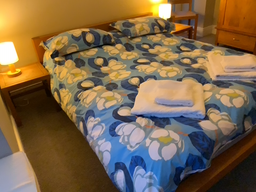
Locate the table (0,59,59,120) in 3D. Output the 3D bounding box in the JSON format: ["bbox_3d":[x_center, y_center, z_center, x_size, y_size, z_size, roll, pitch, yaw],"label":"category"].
[{"bbox_3d":[-1.120,-0.090,2.370,0.490,0.420,0.380,-24,39,-29],"label":"table"}]
